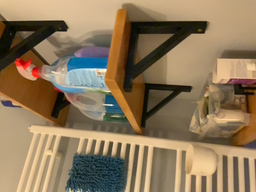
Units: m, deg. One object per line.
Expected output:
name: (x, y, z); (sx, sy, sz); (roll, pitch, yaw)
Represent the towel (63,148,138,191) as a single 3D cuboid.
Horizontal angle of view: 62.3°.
towel: (-0.110, 0.330, 0.880); (0.060, 0.280, 0.180); (65, -149, -68)
